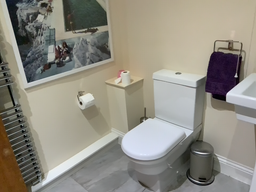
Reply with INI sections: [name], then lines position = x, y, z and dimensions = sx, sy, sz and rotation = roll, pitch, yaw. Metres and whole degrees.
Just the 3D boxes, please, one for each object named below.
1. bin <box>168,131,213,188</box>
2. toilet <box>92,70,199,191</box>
[bin]
position = 0.500, 0.500, 1.710
dimensions = 0.230, 0.280, 0.270
rotation = 18, 32, 40
[toilet]
position = 0.170, 0.290, 1.630
dimensions = 0.420, 0.780, 0.670
rotation = 17, 32, 39
